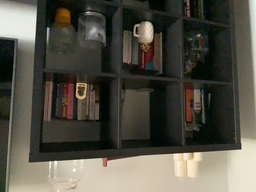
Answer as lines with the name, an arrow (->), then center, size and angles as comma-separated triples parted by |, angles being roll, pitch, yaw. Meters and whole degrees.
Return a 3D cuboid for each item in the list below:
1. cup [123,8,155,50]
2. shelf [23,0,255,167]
cup -> 0.060, -0.390, 1.250 | 0.150, 0.180, 0.130 | 2, 173, -20
shelf -> 0.120, -0.410, 1.310 | 1.270, 1.470, 0.410 | 2, 173, -20
